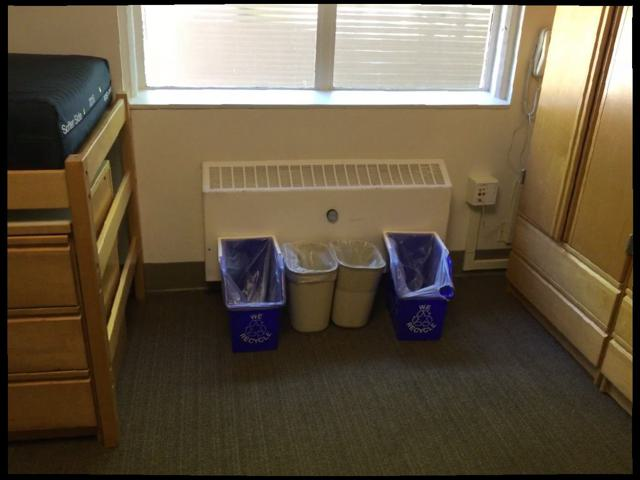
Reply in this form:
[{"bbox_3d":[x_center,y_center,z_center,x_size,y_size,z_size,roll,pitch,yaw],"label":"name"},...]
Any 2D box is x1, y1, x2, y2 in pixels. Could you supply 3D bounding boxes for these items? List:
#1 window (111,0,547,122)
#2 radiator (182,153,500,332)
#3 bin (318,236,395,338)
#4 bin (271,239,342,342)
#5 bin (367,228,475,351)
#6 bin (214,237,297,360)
[{"bbox_3d":[0.070,-1.282,2.370,1.787,1.522,0.320,-2,24,-9],"label":"window"},{"bbox_3d":[0.070,-0.010,2.600,1.288,0.671,0.390,-2,24,-9],"label":"radiator"},{"bbox_3d":[0.150,0.200,2.550,0.260,0.331,0.310,-2,24,-9],"label":"bin"},{"bbox_3d":[-0.070,0.210,2.500,0.260,0.321,0.320,-2,24,-9],"label":"bin"},{"bbox_3d":[0.419,0.200,2.530,0.309,0.361,0.440,-2,24,-9],"label":"bin"},{"bbox_3d":[-0.279,0.230,2.430,0.309,0.341,0.420,-2,24,-9],"label":"bin"}]
